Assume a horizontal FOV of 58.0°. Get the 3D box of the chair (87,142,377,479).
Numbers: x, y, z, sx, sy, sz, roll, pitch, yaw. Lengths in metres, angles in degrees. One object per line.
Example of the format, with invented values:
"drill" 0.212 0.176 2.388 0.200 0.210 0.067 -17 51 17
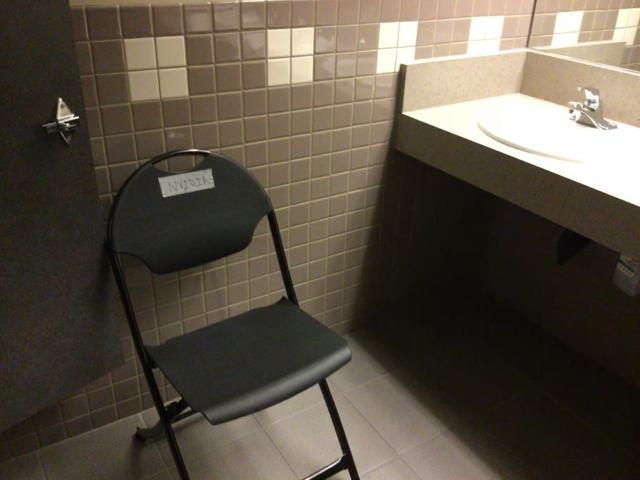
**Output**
"chair" -0.230 0.220 1.490 0.460 0.780 0.560 -15 28 -32
